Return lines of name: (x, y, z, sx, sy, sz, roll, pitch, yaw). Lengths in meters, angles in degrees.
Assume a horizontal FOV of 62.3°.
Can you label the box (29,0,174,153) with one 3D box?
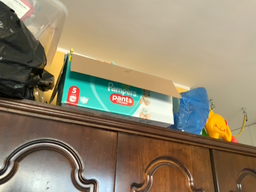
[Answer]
box: (-0.190, -0.100, 1.210, 0.500, 0.660, 0.740, 14, -29, -22)
